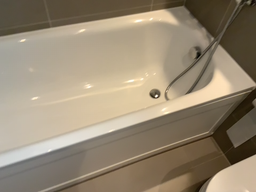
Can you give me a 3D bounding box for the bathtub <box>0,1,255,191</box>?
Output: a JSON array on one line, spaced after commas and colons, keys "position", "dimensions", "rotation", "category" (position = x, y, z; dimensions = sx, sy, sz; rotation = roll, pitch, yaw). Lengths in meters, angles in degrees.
[{"position": [-0.310, 0.050, 1.170], "dimensions": [1.660, 0.590, 0.690], "rotation": [-16, 57, -17], "category": "bathtub"}]
